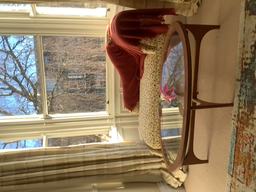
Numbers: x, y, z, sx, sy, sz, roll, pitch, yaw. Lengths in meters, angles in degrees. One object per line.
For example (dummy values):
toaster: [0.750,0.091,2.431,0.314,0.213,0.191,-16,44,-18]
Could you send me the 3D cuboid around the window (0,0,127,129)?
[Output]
window: [-1.150,-0.440,2.850,0.390,2.210,1.640,-130,40,-71]
